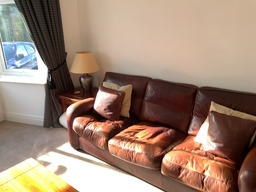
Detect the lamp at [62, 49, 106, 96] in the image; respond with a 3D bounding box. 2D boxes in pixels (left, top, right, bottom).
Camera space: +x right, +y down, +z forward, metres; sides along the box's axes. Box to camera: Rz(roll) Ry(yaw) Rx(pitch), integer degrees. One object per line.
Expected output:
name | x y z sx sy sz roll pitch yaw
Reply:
lamp | -0.680 -0.390 3.340 0.380 0.600 0.490 13 24 35
